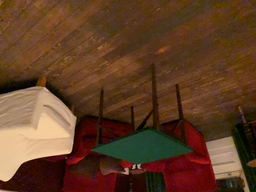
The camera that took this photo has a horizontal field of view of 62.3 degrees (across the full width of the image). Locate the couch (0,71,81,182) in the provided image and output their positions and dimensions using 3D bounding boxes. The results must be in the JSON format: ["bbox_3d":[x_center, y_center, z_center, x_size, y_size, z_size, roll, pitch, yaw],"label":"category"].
[{"bbox_3d":[-1.150,0.370,2.220,0.970,0.830,0.750,-9,148,13],"label":"couch"}]

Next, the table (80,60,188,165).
[{"bbox_3d":[0.050,0.230,2.150,0.720,0.680,0.700,-27,140,36],"label":"table"}]

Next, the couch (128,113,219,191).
[{"bbox_3d":[0.670,0.950,3.180,0.870,0.840,1.070,-21,143,30],"label":"couch"}]

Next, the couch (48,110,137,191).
[{"bbox_3d":[-0.510,0.860,3.030,0.900,0.840,0.950,15,145,-23],"label":"couch"}]
